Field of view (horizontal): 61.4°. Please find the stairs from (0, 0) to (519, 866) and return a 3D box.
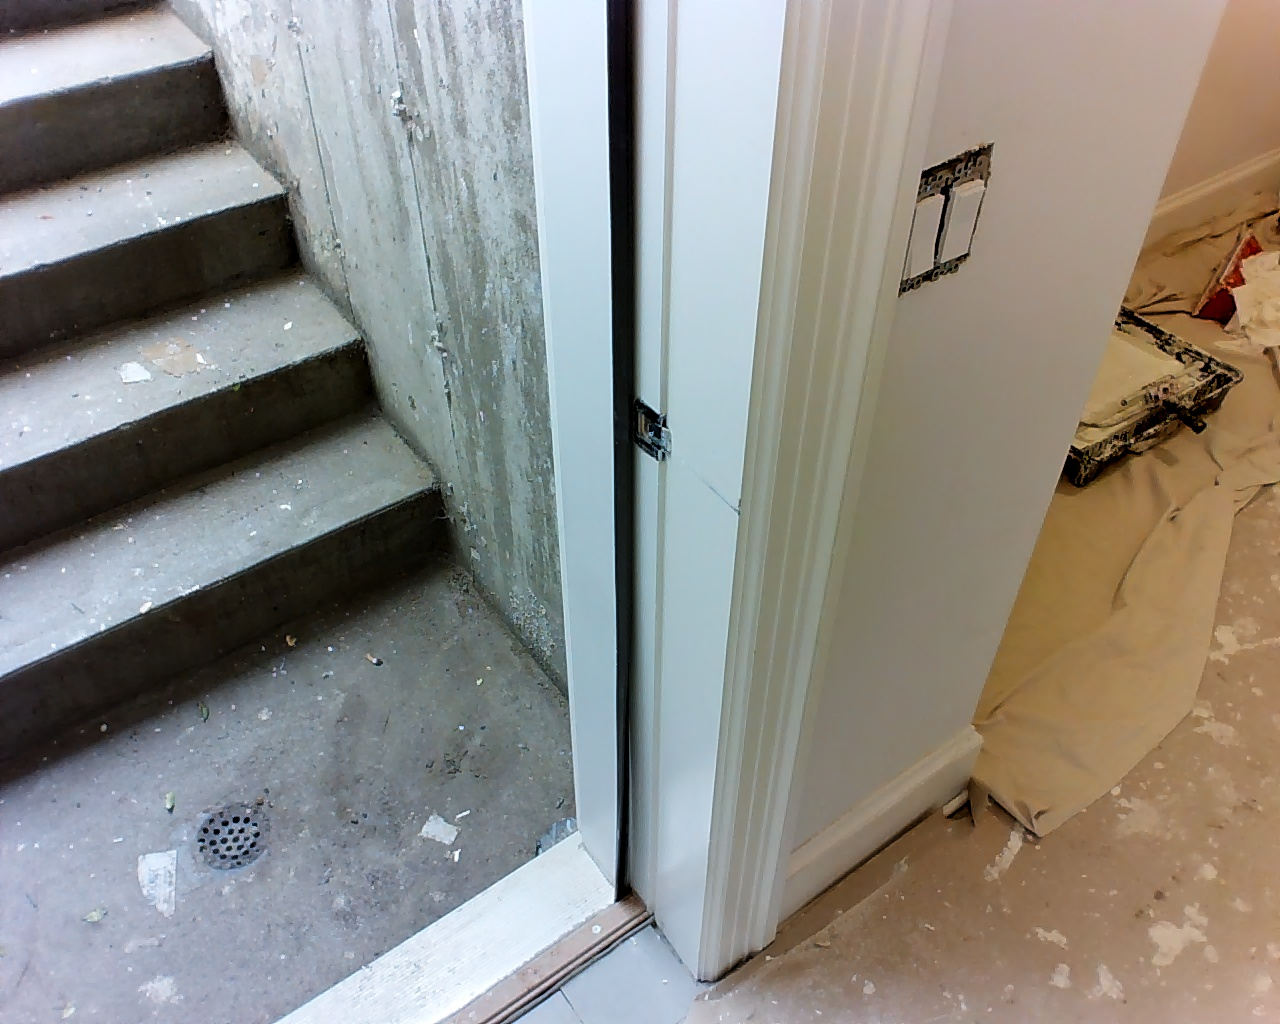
[{"bbox_3d":[-1.450,-0.750,2.050,1.250,0.370,2.730,-26,83,-26],"label":"stairs"}]
